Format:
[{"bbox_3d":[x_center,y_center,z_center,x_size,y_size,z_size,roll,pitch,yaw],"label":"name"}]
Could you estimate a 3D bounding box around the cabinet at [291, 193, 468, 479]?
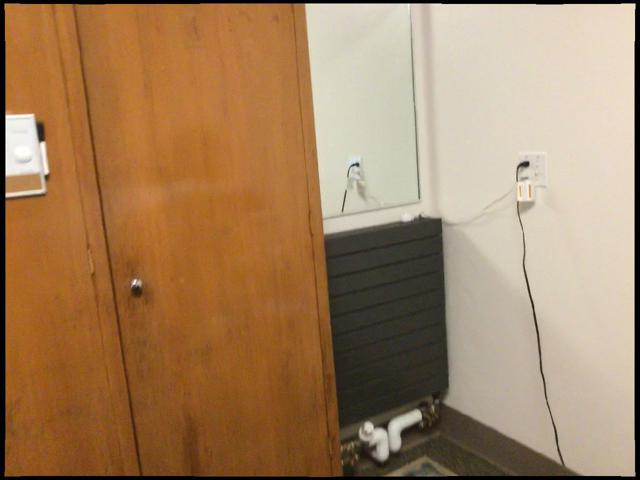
[{"bbox_3d":[0.269,0.391,2.370,0.639,1.072,0.270,-12,14,-32],"label":"cabinet"}]
